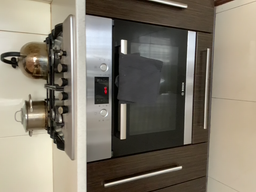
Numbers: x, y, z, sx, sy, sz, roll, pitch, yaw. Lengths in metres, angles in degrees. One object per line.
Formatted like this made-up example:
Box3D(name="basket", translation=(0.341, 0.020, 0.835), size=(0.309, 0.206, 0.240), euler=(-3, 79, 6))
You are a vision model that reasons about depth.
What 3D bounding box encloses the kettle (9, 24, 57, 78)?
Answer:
Box3D(name="kettle", translation=(-0.470, -0.210, 1.050), size=(0.140, 0.200, 0.230), euler=(14, 104, 60))
